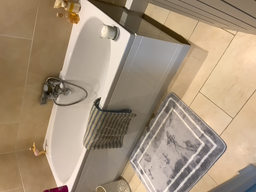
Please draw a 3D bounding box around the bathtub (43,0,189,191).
[{"bbox_3d":[-0.260,0.100,1.990,0.730,0.570,1.640,48,126,37],"label":"bathtub"}]
